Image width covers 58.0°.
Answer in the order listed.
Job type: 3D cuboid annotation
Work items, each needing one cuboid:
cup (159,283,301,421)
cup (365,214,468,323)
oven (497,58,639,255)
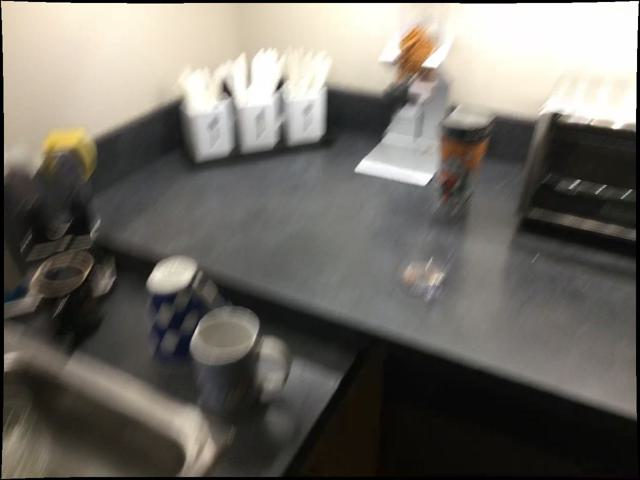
[{"bbox_3d":[-0.120,0.150,0.800,0.150,0.100,0.110,15,38,22],"label":"cup"},{"bbox_3d":[0.160,0.040,0.940,0.110,0.060,0.180,15,38,22],"label":"cup"},{"bbox_3d":[0.559,-0.140,0.990,0.409,0.210,0.280,15,38,22],"label":"oven"}]
